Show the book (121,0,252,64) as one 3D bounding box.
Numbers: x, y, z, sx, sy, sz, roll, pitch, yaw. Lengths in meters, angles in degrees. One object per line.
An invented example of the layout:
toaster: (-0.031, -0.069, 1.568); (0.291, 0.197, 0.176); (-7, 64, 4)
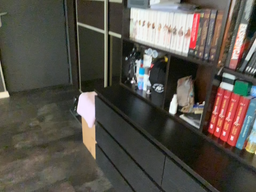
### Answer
book: (0.280, -0.460, 1.320); (0.260, 0.290, 0.770); (-13, 30, -32)
